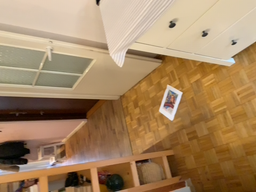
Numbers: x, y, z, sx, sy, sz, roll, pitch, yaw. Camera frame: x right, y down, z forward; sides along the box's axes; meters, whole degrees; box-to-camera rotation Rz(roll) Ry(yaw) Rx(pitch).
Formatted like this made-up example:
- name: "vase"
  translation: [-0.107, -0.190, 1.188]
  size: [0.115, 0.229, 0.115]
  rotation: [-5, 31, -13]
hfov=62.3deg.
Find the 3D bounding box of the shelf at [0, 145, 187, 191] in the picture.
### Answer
- name: "shelf"
  translation: [-0.530, 0.680, 1.530]
  size: [0.630, 2.020, 0.310]
  rotation: [-38, 58, 48]
